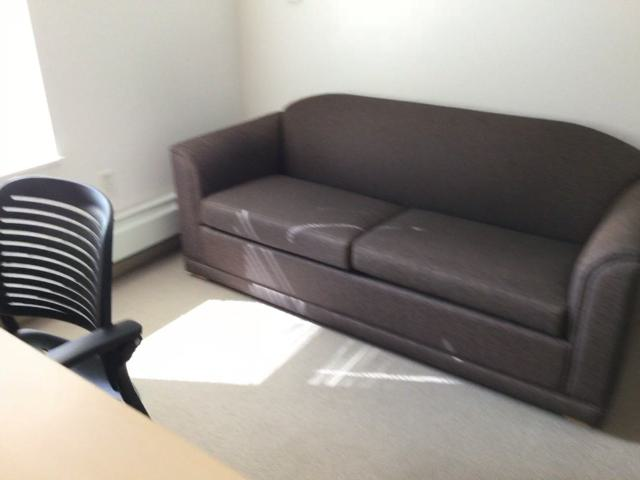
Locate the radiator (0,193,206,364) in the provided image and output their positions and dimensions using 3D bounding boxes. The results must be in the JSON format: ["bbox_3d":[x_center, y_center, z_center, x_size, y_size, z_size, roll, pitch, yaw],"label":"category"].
[{"bbox_3d":[-1.060,0.180,2.270,0.180,0.350,1.410,15,28,35],"label":"radiator"}]
